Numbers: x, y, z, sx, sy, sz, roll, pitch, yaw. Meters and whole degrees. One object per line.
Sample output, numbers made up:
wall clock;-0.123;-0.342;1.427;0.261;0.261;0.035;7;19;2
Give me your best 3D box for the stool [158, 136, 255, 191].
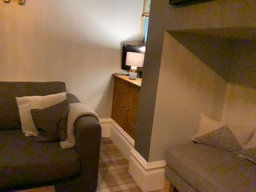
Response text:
stool;0.730;0.700;1.660;0.610;0.430;0.790;0;14;-25
